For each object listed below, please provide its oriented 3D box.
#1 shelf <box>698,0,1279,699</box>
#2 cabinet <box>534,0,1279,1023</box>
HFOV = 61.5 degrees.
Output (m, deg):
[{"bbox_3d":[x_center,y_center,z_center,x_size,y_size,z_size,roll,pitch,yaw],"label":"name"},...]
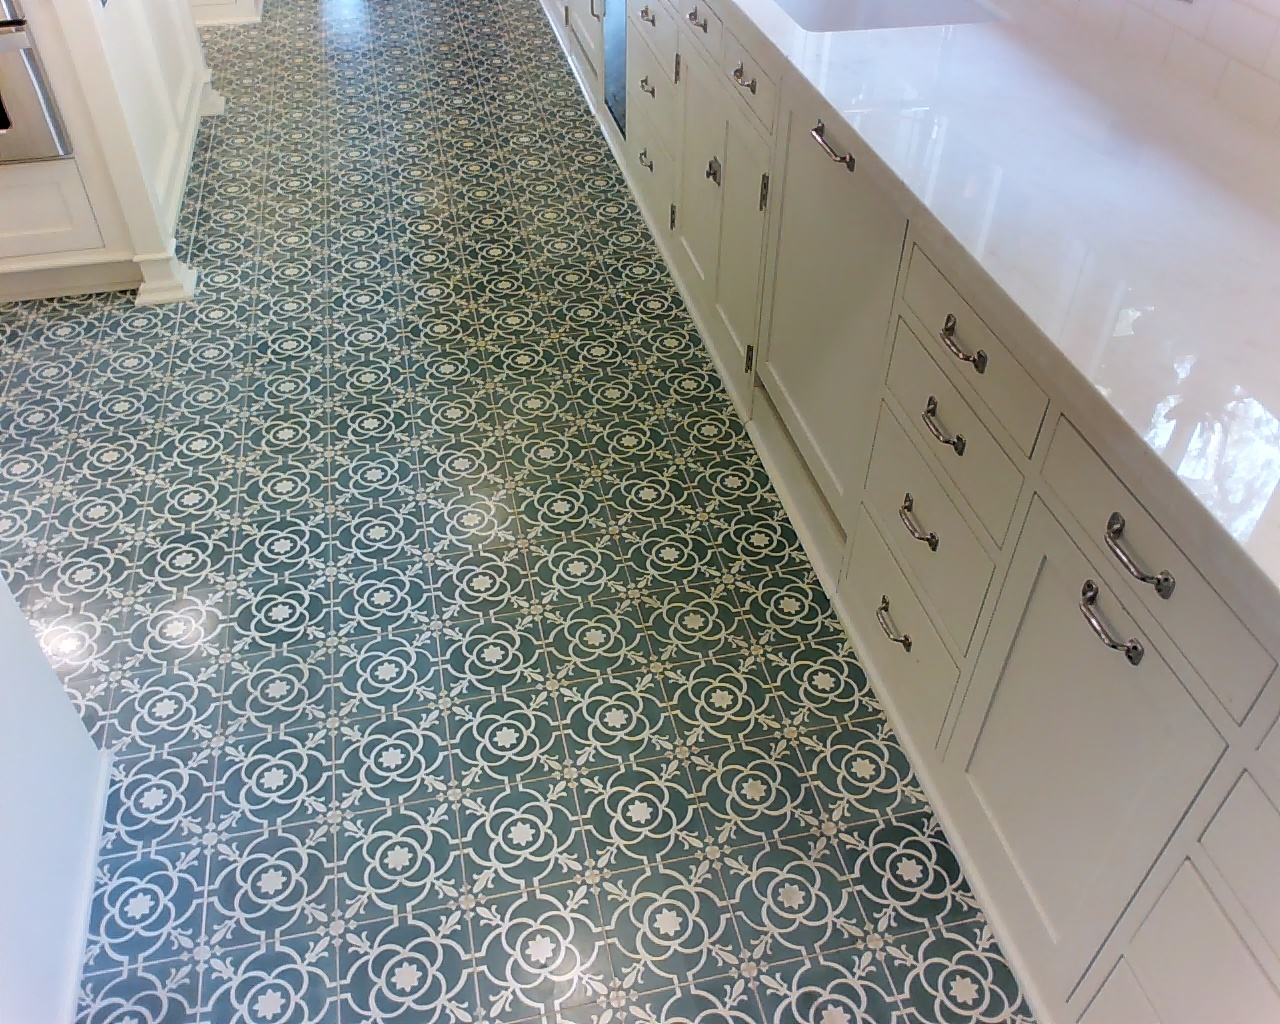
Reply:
[{"bbox_3d":[0.330,-1.580,2.840,0.630,0.100,6.040,-8,43,-10],"label":"shelf"},{"bbox_3d":[0.050,-1.180,3.070,0.070,0.820,5.930,-8,43,-10],"label":"cabinet"}]
